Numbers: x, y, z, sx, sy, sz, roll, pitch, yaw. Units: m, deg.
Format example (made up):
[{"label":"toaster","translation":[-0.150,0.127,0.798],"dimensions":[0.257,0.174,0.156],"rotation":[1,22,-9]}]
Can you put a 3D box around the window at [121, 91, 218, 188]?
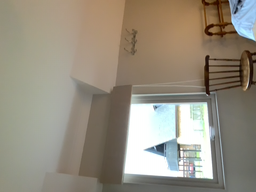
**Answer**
[{"label":"window","translation":[0.480,0.490,2.560],"dimensions":[0.270,1.010,1.060],"rotation":[60,-149,-61]}]
